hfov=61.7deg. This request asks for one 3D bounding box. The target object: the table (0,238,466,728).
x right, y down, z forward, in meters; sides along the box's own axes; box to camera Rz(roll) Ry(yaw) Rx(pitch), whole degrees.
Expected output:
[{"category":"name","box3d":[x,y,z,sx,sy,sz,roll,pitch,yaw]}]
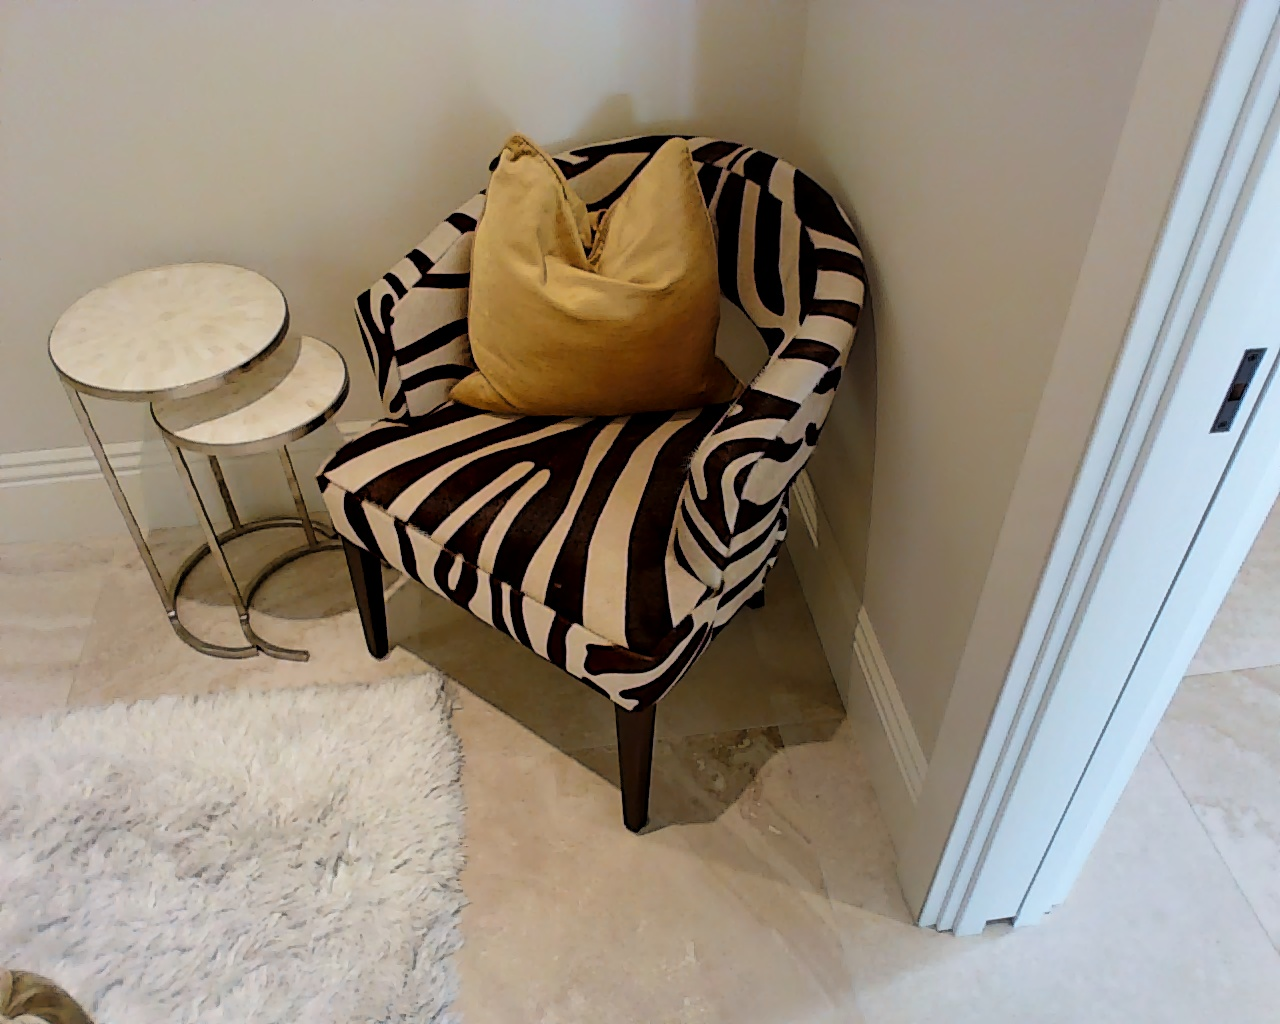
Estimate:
[{"category":"table","box3d":[-0.660,-0.050,1.860,0.510,0.640,0.450,9,43,11]}]
